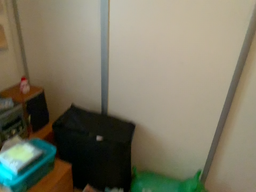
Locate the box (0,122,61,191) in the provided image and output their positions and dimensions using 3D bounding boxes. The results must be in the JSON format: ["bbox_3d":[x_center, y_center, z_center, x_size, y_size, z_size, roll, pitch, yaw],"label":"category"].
[{"bbox_3d":[-0.680,0.360,1.310,0.370,0.140,0.330,17,31,21],"label":"box"}]
